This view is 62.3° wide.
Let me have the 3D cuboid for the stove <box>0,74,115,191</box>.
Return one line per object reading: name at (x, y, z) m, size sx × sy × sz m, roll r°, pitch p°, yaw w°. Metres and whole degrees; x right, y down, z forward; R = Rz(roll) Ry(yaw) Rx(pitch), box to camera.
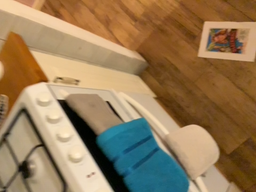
stove at (-0.280, 0.380, 0.590) m, size 0.630 × 0.050 × 0.610 m, roll -48°, pitch 65°, yaw 21°
